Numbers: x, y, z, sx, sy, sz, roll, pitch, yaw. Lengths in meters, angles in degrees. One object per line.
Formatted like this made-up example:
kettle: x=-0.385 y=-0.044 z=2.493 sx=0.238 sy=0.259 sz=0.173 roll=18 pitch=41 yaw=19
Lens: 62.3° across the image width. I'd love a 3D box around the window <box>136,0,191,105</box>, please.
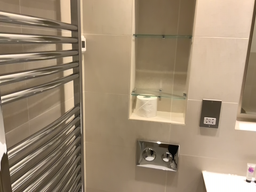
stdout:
window: x=0.190 y=-0.300 z=1.160 sx=0.260 sy=0.690 sz=0.040 roll=5 pitch=15 yaw=13
